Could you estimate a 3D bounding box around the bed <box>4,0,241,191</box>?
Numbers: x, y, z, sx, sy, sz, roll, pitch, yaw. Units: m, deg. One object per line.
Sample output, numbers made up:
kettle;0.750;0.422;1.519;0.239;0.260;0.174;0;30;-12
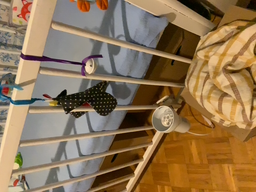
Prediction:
bed;-0.150;0.090;1.060;0.600;0.530;1.170;44;118;37
